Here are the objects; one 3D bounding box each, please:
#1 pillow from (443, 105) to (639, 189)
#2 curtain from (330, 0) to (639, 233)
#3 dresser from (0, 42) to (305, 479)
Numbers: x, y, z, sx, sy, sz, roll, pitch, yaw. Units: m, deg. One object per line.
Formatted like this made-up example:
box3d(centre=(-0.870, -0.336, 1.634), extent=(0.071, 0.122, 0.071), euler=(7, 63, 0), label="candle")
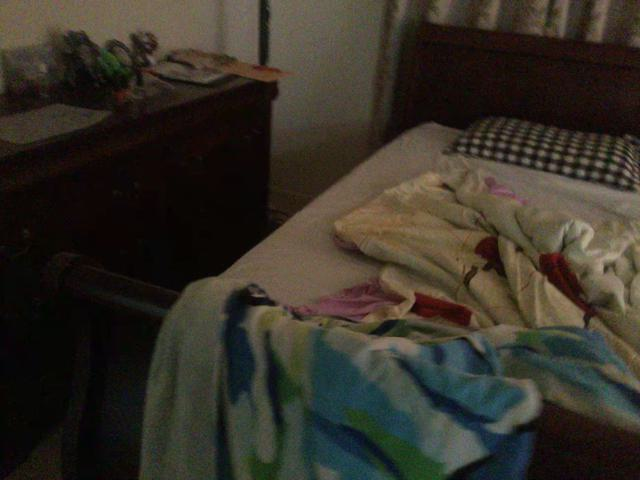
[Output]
box3d(centre=(0.880, -0.380, 2.240), extent=(0.700, 0.110, 0.440), euler=(14, 27, 20), label="pillow")
box3d(centre=(0.860, -1.020, 2.420), extent=(1.520, 1.740, 0.320), euler=(14, 27, 20), label="curtain")
box3d(centre=(-0.670, -0.100, 2.010), extent=(0.510, 0.930, 1.690), euler=(14, 27, 20), label="dresser")
